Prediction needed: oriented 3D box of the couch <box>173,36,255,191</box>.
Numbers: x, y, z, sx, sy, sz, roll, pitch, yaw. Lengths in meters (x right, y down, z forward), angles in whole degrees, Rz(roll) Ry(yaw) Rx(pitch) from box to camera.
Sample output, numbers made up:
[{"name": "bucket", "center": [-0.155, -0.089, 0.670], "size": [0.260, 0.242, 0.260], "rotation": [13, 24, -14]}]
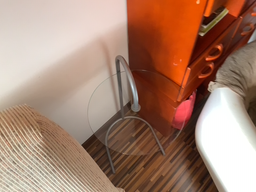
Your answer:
[{"name": "couch", "center": [0.700, 0.170, 1.070], "size": [0.640, 0.640, 0.690], "rotation": [-13, 59, -6]}]
